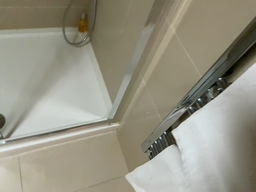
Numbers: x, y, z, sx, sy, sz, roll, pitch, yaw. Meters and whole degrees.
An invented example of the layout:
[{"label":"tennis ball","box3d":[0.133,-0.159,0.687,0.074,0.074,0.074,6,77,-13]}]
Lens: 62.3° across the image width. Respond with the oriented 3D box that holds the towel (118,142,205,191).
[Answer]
[{"label":"towel","box3d":[0.100,0.340,0.790,0.090,0.400,0.210,-8,65,-28]}]
